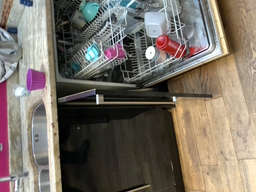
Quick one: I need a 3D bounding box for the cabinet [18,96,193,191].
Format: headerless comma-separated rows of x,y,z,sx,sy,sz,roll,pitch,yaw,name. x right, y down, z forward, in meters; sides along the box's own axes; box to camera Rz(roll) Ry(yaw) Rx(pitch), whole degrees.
-0.140,0.660,1.380,0.690,0.890,1.160,-23,71,50,cabinet

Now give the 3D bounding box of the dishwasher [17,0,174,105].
-0.270,-0.330,1.600,0.690,0.890,0.660,-23,71,50,dishwasher

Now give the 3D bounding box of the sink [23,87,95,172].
-0.430,0.210,1.250,0.460,0.240,0.400,-23,71,50,sink
